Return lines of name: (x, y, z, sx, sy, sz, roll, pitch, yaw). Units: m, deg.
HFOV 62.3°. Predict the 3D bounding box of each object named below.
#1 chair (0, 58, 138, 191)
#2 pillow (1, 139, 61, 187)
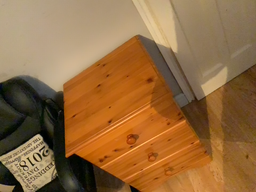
chair: (-0.430, 0.460, 1.100, 0.610, 0.900, 0.710, -32, 43, 10)
pillow: (-0.490, 0.350, 1.070, 0.300, 0.220, 0.070, -60, 31, 31)
